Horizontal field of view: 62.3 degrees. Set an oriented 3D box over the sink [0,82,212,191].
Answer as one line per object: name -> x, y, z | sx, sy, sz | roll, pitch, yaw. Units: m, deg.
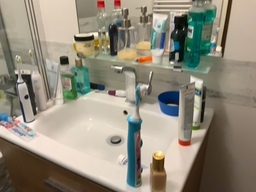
sink -> -0.070, 0.130, 0.750 | 0.610, 0.120, 0.450 | 12, 28, 27
